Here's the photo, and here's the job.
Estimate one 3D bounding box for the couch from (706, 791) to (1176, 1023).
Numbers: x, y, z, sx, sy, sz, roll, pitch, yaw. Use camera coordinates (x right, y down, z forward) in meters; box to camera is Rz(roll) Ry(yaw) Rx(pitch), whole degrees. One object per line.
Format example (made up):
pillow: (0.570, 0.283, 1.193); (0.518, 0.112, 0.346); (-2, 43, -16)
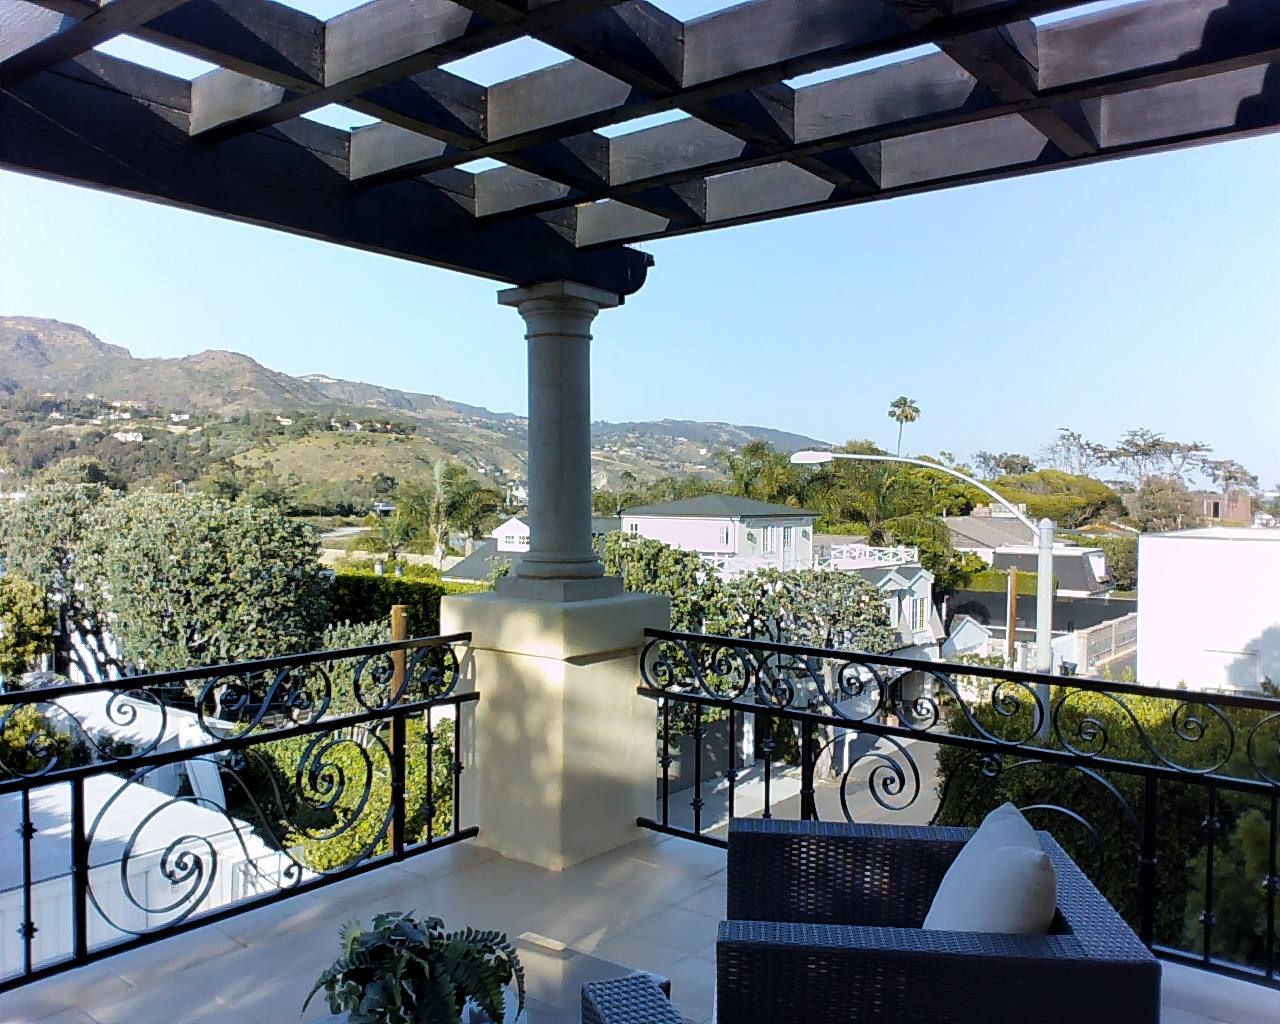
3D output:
couch: (0.620, 1.151, 2.530); (0.890, 0.720, 0.870); (1, 1, 6)
